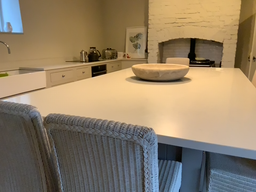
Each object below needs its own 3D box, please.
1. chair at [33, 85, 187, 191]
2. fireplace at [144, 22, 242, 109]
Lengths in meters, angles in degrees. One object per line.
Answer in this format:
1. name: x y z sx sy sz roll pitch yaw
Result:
1. chair: -0.010 0.510 0.910 0.390 1.020 0.490 6 15 21
2. fireplace: 1.340 -0.700 4.560 1.740 1.550 0.930 6 16 22
